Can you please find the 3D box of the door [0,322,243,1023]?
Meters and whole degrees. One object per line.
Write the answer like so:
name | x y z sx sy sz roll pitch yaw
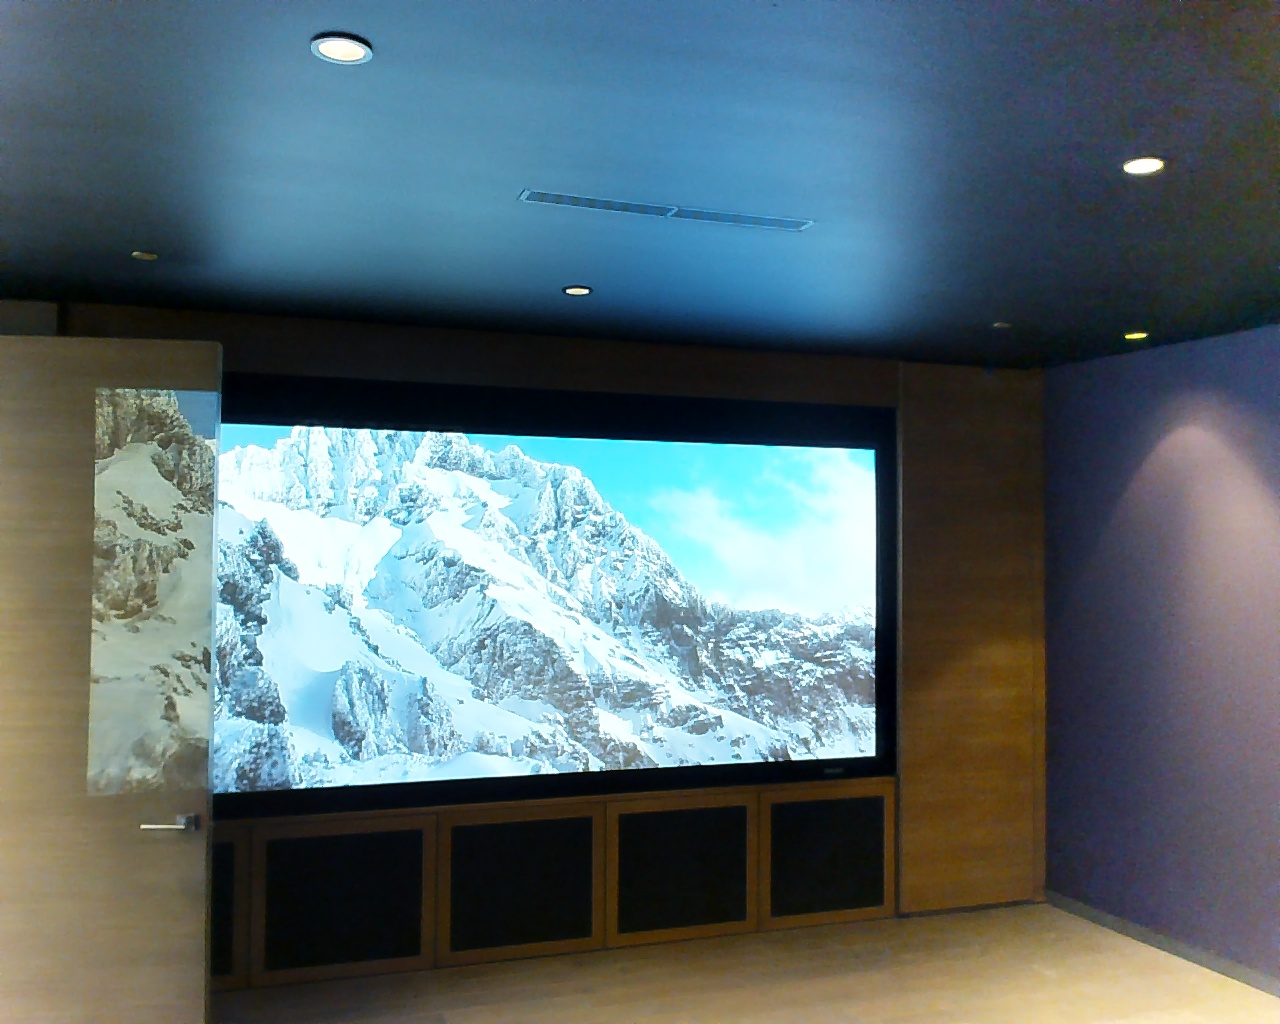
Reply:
door | -2.020 0.660 3.340 1.430 2.490 0.130 1 -2 -6

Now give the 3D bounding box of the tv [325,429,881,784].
tv | -0.070 0.380 4.430 2.330 1.340 0.070 1 -2 -17

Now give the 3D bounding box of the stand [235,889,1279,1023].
stand | 0.510 1.820 3.700 3.580 0.230 1.590 1 -2 -20
